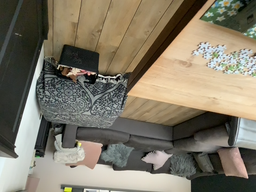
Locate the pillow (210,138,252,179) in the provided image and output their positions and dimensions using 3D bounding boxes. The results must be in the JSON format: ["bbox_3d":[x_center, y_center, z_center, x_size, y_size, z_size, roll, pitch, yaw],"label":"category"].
[{"bbox_3d":[1.550,0.960,3.240,0.180,0.400,0.470,10,126,-19],"label":"pillow"}]
